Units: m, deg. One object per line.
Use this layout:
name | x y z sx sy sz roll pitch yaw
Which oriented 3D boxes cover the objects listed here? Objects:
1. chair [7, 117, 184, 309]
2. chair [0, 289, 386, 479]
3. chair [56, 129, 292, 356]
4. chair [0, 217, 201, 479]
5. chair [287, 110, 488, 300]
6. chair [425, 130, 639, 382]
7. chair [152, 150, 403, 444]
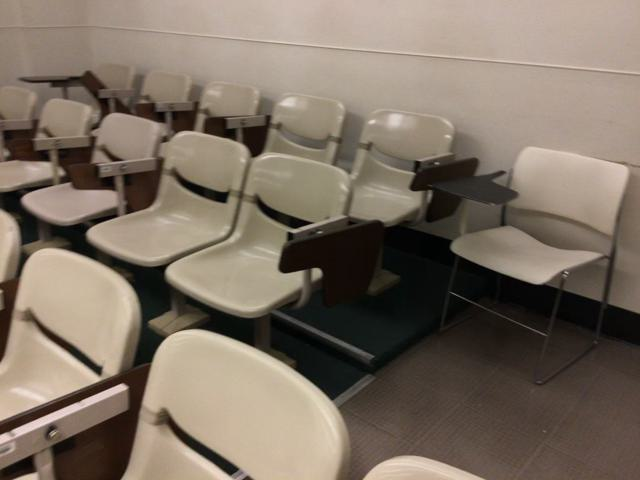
chair | -0.980 -0.160 2.560 0.510 0.710 0.540 16 19 41
chair | -0.320 0.570 1.030 0.610 0.740 0.530 16 19 41
chair | -0.580 -0.060 2.280 0.690 0.690 0.590 16 19 41
chair | -0.720 0.440 1.360 0.680 0.820 0.560 16 19 41
chair | 0.290 -0.200 2.540 0.560 0.680 0.620 16 19 41
chair | 0.820 0.000 2.200 0.540 0.780 0.550 16 19 41
chair | -0.160 0.120 2.000 0.590 0.780 0.580 16 19 41
